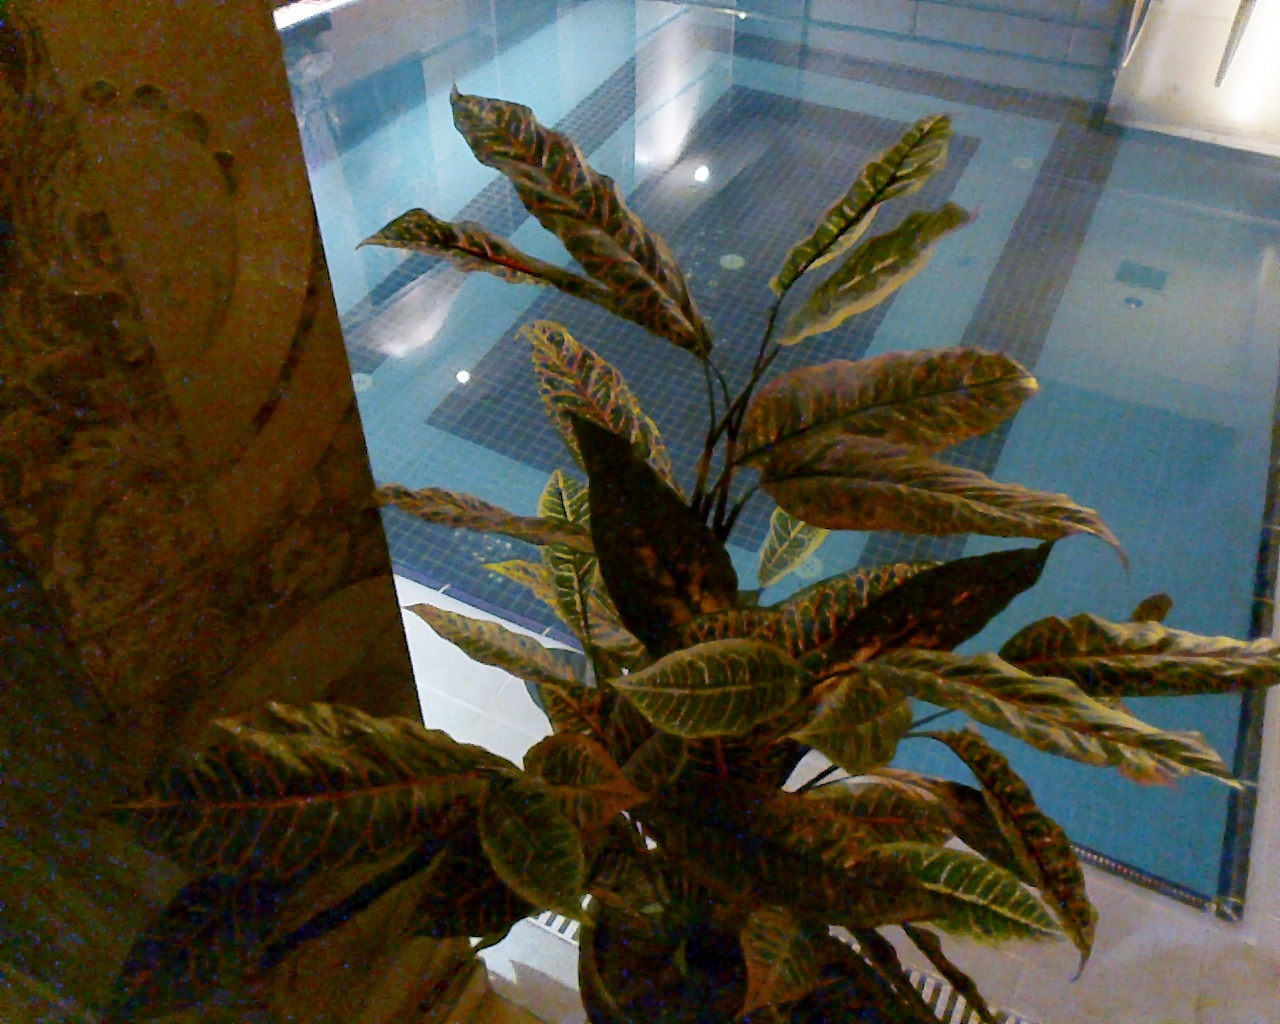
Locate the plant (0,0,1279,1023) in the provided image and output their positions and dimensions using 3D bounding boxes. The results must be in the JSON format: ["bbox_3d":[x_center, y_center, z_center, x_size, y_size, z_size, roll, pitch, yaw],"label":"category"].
[{"bbox_3d":[-0.020,0.210,1.180,0.850,1.300,0.530,-30,50,-29],"label":"plant"}]
